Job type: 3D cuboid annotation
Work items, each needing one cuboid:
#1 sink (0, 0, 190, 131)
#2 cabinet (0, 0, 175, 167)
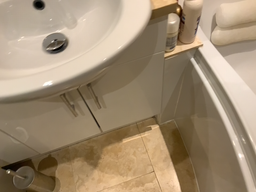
[{"bbox_3d":[-0.200,-0.180,0.510,0.520,0.140,0.420,-19,60,-5],"label":"sink"},{"bbox_3d":[-0.190,-0.050,0.900,0.600,0.800,0.330,-19,60,-5],"label":"cabinet"}]
